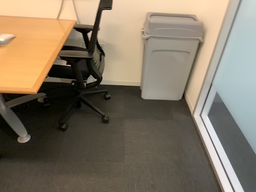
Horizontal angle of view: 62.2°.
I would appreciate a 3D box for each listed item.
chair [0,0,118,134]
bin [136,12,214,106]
[{"bbox_3d":[-0.450,-0.320,1.850,0.680,1.080,0.720,3,36,-4],"label":"chair"},{"bbox_3d":[0.410,-0.340,2.150,0.570,0.880,0.290,2,36,-4],"label":"bin"}]
